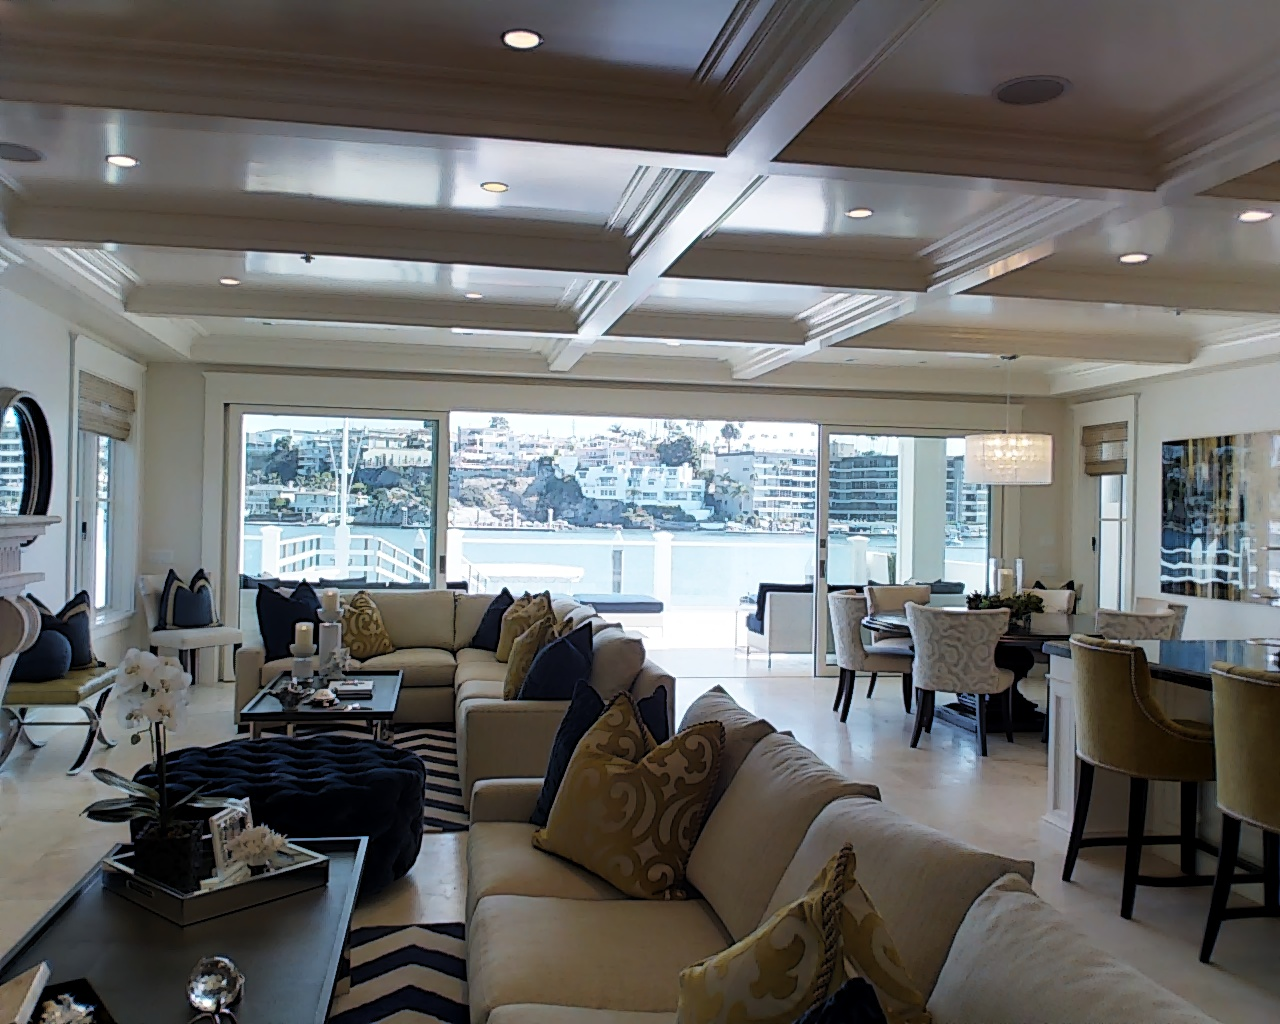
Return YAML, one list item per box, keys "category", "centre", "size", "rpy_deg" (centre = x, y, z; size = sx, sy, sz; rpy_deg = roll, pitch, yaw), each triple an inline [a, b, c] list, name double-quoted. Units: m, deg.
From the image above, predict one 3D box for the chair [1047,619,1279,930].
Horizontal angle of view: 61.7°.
- category: "chair"
  centre: [2.159, 1.000, 4.310]
  size: [0.720, 1.070, 0.680]
  rpy_deg: [1, 0, -9]
